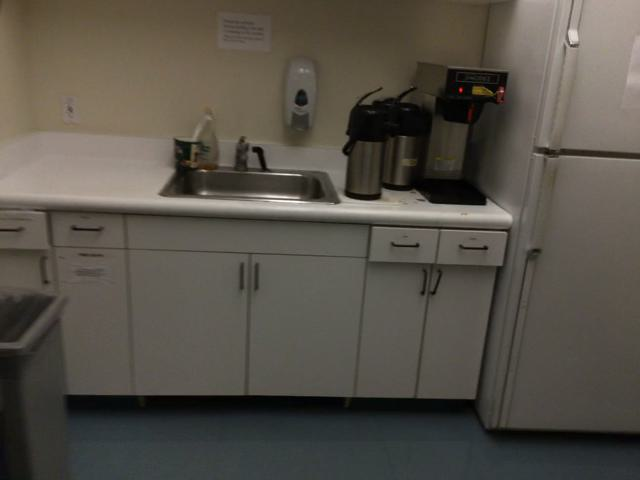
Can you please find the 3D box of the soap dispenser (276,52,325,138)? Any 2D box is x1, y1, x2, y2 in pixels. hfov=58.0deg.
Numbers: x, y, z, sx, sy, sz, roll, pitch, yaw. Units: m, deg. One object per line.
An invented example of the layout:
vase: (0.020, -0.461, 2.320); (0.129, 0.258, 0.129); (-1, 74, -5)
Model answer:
soap dispenser: (-0.080, -0.580, 2.310); (0.180, 0.320, 0.100); (1, 18, -5)

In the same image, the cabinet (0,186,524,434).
cabinet: (-0.240, 0.260, 2.040); (1.780, 0.840, 0.180); (1, 18, -5)

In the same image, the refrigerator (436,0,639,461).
refrigerator: (1.020, -0.110, 2.160); (0.810, 1.590, 0.790); (1, 18, -5)
